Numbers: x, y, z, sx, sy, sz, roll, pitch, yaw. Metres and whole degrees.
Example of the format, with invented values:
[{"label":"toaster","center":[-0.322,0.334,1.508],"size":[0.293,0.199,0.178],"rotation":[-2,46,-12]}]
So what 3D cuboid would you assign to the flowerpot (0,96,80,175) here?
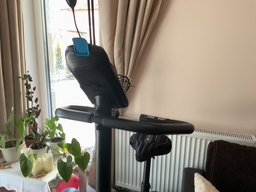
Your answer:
[{"label":"flowerpot","center":[-0.770,0.290,1.800],"size":[0.540,0.450,0.480],"rotation":[5,14,14]}]
